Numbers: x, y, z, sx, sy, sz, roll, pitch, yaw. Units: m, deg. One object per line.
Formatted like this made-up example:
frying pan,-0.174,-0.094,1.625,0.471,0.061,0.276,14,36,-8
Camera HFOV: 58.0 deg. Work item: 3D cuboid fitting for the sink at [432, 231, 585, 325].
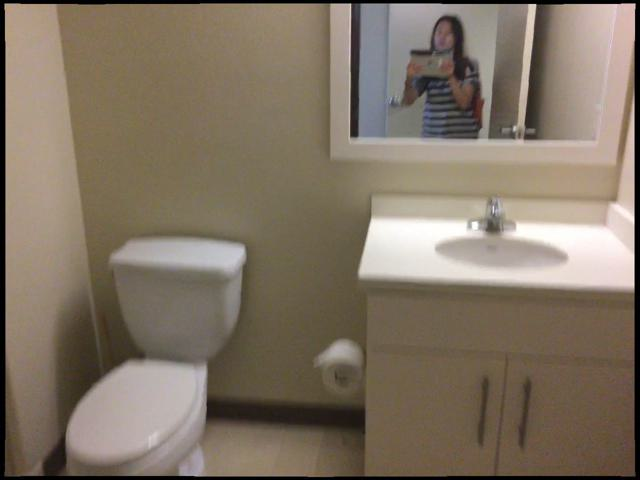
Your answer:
sink,0.529,0.100,1.700,0.379,0.140,0.320,2,20,9
